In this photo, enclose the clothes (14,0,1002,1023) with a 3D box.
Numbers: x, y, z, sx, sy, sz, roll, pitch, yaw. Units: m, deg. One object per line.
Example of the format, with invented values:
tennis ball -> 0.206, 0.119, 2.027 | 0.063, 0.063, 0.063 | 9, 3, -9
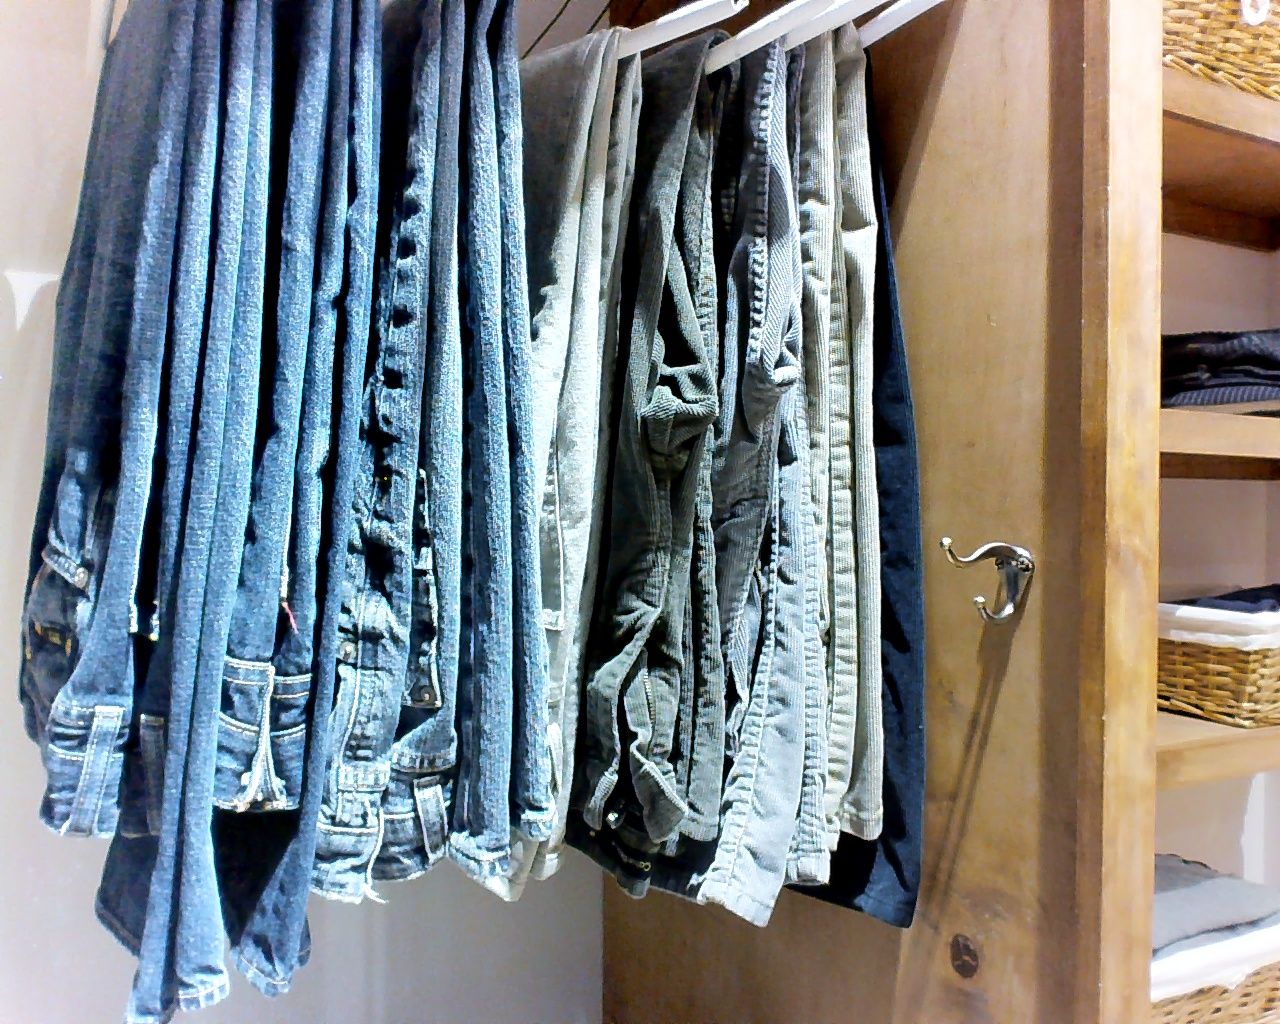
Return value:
clothes -> -0.110, 0.010, 0.710 | 0.520, 0.580, 0.420 | 1, 0, -30
